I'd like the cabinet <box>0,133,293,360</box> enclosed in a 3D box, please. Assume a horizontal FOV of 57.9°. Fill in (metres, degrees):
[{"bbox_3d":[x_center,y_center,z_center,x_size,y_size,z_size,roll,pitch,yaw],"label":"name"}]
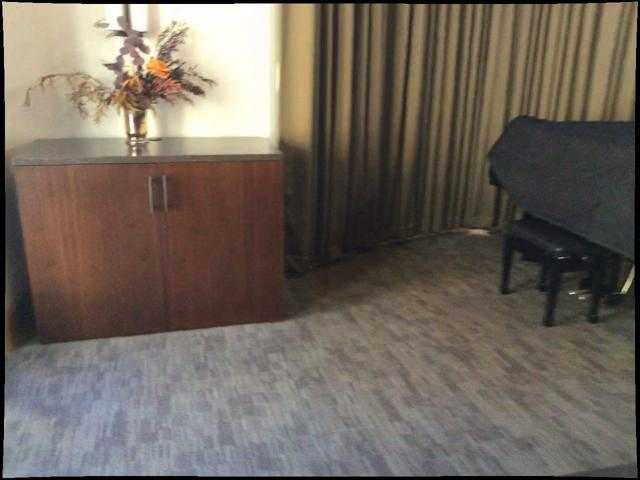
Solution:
[{"bbox_3d":[-0.829,0.000,2.840,1.329,0.911,0.320,-7,22,-16],"label":"cabinet"}]
